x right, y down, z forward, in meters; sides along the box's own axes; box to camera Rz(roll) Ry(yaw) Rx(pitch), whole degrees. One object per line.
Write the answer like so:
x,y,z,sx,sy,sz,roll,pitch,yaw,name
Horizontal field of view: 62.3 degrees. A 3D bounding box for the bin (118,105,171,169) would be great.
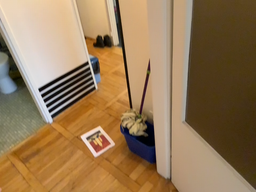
0.130,0.310,1.660,0.190,0.300,0.370,-33,44,-28,bin
